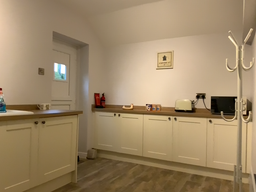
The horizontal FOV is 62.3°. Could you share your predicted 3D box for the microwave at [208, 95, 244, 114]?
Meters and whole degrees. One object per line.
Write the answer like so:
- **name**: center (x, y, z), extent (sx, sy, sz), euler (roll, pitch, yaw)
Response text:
- **microwave**: center (1.420, 0.120, 3.080), extent (0.450, 0.250, 0.340), euler (1, 0, 27)
